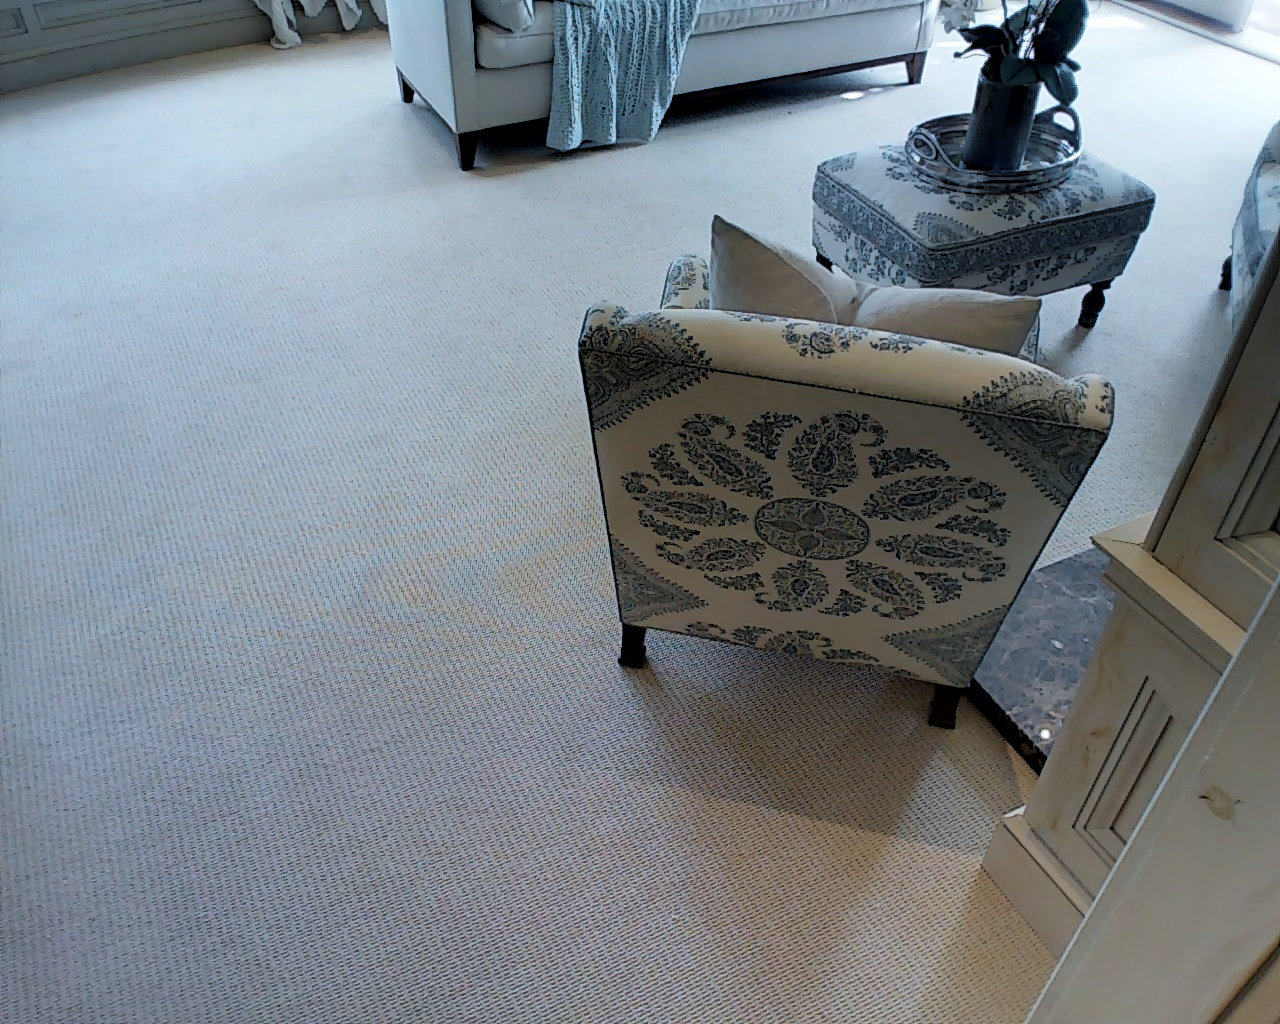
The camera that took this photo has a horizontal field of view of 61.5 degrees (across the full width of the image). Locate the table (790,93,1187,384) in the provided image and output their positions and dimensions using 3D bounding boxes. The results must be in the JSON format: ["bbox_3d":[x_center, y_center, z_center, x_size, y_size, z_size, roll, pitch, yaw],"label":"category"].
[{"bbox_3d":[0.890,-0.750,2.860,0.760,0.420,0.550,-18,45,-19],"label":"table"}]

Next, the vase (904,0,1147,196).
[{"bbox_3d":[0.900,-1.080,2.530,0.350,0.520,0.310,-14,44,-15],"label":"vase"}]

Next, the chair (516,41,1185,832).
[{"bbox_3d":[0.330,-0.180,1.900,0.770,0.880,0.990,9,43,9],"label":"chair"}]
